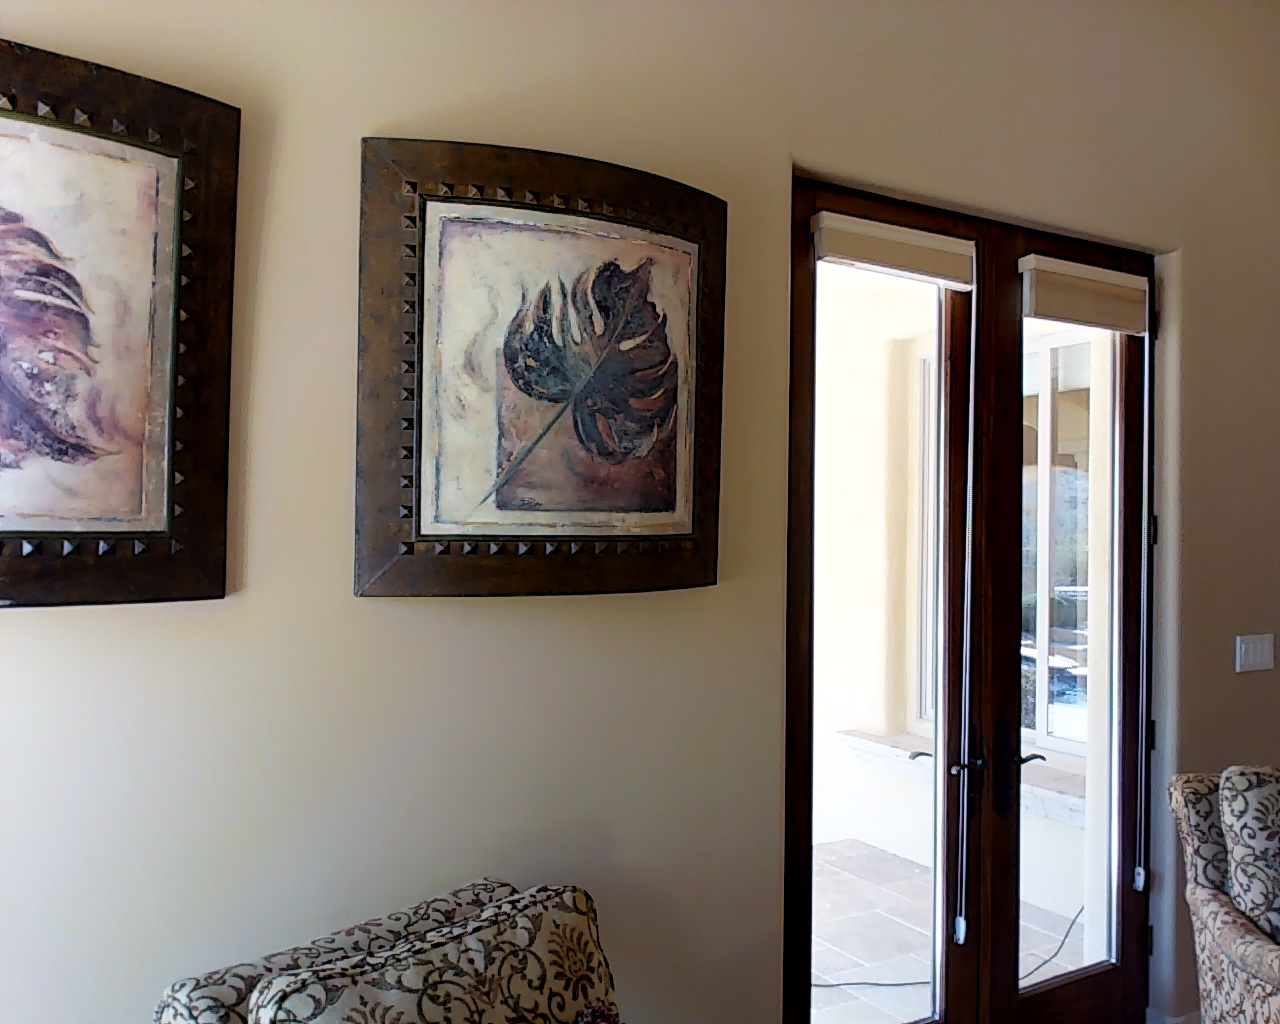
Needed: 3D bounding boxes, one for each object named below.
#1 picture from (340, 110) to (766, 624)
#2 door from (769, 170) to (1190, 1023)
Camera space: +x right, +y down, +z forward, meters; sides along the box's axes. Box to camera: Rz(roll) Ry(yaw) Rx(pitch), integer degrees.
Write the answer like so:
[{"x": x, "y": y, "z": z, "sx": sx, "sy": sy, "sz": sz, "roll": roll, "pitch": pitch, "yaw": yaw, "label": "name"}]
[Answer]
[{"x": -0.140, "y": -0.240, "z": 2.100, "sx": 0.840, "sy": 0.880, "sz": 0.160, "roll": 1, "pitch": -2, "yaw": -30, "label": "picture"}, {"x": 0.970, "y": 0.390, "z": 2.860, "sx": 1.450, "sy": 2.330, "sz": 0.130, "roll": 1, "pitch": -2, "yaw": -30, "label": "door"}]
